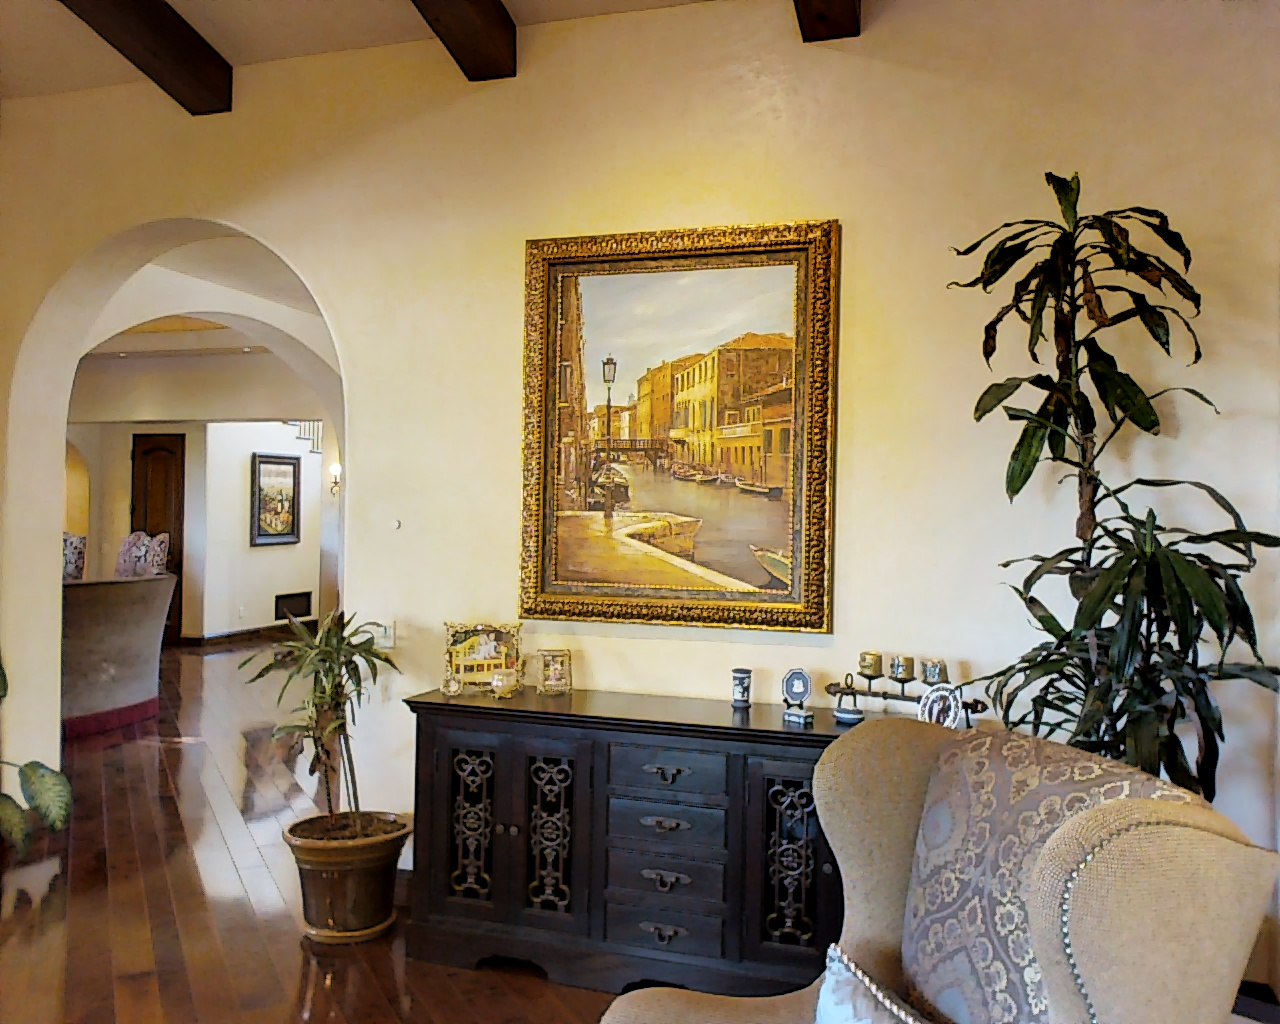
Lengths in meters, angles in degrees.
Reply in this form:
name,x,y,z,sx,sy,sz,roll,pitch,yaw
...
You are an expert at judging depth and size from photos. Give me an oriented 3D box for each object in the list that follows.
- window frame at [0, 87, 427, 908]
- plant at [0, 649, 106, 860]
name,x,y,z,sx,sy,sz,roll,pitch,yaw
window frame,-2.070,-0.080,4.650,2.410,3.210,0.180,1,0,18
plant,-2.830,1.090,4.930,0.540,0.840,0.380,1,0,18
